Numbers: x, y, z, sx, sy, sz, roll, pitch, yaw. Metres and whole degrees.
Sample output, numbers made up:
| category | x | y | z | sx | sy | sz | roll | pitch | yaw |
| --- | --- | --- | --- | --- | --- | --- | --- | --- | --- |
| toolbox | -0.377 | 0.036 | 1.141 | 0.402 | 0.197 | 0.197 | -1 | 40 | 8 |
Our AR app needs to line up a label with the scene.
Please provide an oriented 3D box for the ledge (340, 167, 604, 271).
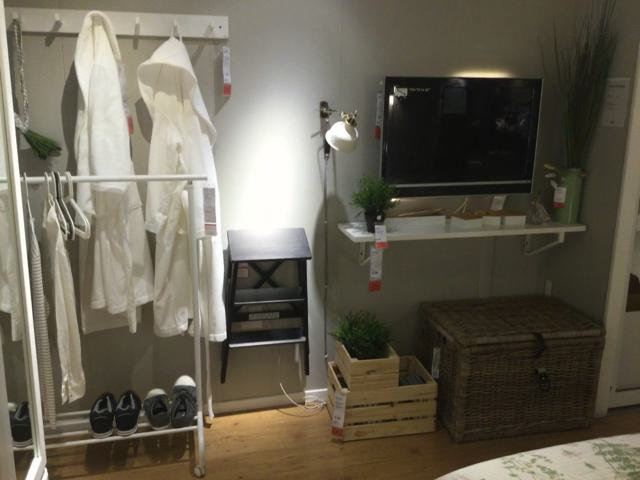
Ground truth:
| category | x | y | z | sx | sy | sz | roll | pitch | yaw |
| --- | --- | --- | --- | --- | --- | --- | --- | --- | --- |
| ledge | 0.700 | -0.120 | 2.680 | 1.160 | 0.320 | 0.310 | -6 | 13 | -12 |

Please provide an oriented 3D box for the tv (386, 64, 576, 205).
| category | x | y | z | sx | sy | sz | roll | pitch | yaw |
| --- | --- | --- | --- | --- | --- | --- | --- | --- | --- |
| tv | 0.740 | -0.490 | 2.650 | 0.850 | 0.560 | 0.160 | -6 | 13 | -12 |

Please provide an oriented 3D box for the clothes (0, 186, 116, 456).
| category | x | y | z | sx | sy | sz | roll | pitch | yaw |
| --- | --- | --- | --- | --- | --- | --- | --- | --- | --- |
| clothes | -1.020 | 0.270 | 2.250 | 0.260 | 0.880 | 0.560 | -6 | 13 | -12 |
